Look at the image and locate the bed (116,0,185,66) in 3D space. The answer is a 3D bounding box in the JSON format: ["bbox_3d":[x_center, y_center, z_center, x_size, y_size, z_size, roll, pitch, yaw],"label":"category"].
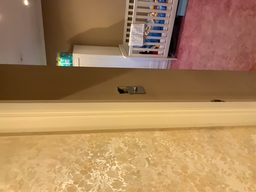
[{"bbox_3d":[0.350,-1.430,3.680,0.780,0.910,1.590,-110,23,-59],"label":"bed"}]
